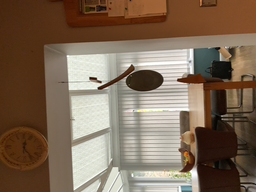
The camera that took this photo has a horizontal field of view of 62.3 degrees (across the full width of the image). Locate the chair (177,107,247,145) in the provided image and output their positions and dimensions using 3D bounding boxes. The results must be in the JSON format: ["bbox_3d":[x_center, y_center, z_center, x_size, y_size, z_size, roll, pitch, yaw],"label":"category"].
[{"bbox_3d":[1.250,0.450,3.290,0.560,0.870,0.480,-24,-67,-86],"label":"chair"}]

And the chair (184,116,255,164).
[{"bbox_3d":[1.200,0.520,2.660,0.560,0.870,0.480,8,-100,-86],"label":"chair"}]

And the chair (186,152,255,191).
[{"bbox_3d":[1.220,1.000,2.590,0.540,0.870,0.480,8,-100,-86],"label":"chair"}]
